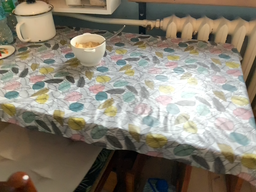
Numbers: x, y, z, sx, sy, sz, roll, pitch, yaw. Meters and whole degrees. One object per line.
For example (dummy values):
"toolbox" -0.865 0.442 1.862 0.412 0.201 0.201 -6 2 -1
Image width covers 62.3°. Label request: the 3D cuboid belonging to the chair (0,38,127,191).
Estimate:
"chair" -0.300 0.300 0.790 0.460 0.820 0.470 13 41 15
